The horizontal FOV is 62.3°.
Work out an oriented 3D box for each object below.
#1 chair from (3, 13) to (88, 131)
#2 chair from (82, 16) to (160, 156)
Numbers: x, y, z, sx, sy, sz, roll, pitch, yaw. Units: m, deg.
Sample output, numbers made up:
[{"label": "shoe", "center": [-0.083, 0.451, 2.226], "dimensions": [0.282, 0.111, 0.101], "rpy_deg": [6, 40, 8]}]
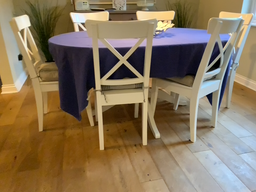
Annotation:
[{"label": "chair", "center": [-0.650, -0.230, 1.840], "dimensions": [0.490, 0.900, 0.430], "rpy_deg": [-6, 24, -14]}, {"label": "chair", "center": [-0.080, -0.110, 1.590], "dimensions": [0.420, 0.890, 0.530], "rpy_deg": [-6, 24, -12]}]
